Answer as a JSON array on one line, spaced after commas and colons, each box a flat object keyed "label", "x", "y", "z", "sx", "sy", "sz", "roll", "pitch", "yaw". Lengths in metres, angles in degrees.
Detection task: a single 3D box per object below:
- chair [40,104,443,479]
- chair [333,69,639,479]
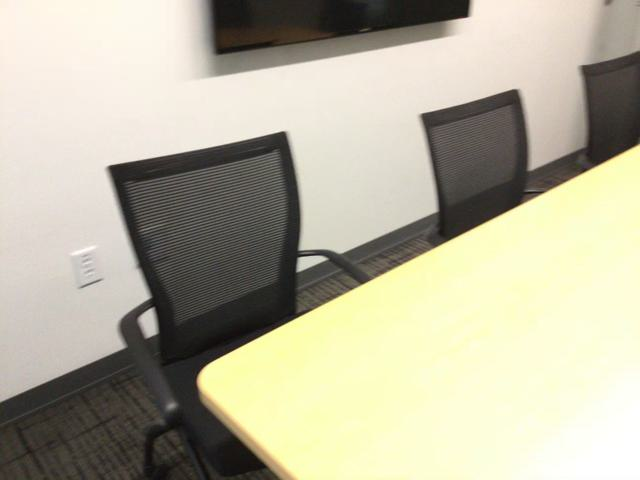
[{"label": "chair", "x": -0.150, "y": 0.250, "z": 1.340, "sx": 0.560, "sy": 0.930, "sz": 0.590, "roll": -22, "pitch": 33, "yaw": -32}, {"label": "chair", "x": 0.510, "y": 0.060, "z": 1.610, "sx": 0.610, "sy": 0.870, "sz": 0.690, "roll": -22, "pitch": 33, "yaw": -32}]
